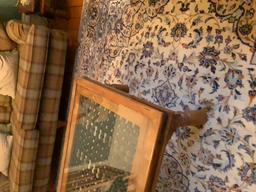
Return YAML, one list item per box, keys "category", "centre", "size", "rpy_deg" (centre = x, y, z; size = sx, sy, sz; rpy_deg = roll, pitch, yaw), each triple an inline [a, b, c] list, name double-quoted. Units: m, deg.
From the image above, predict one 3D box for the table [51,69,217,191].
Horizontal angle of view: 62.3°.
- category: "table"
  centre: [-0.100, 0.600, 1.330]
  size: [0.800, 0.410, 1.370]
  rpy_deg: [22, 105, 46]
